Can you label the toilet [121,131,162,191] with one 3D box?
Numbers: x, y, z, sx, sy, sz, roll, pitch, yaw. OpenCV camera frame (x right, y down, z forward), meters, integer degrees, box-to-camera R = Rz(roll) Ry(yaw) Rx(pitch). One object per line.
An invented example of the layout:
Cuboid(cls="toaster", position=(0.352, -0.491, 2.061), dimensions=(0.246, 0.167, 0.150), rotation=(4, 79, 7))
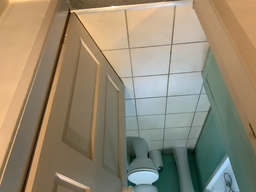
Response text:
Cuboid(cls="toilet", position=(0.160, 0.960, 2.560), dimensions=(0.400, 0.810, 0.660), rotation=(-5, 142, 2))
